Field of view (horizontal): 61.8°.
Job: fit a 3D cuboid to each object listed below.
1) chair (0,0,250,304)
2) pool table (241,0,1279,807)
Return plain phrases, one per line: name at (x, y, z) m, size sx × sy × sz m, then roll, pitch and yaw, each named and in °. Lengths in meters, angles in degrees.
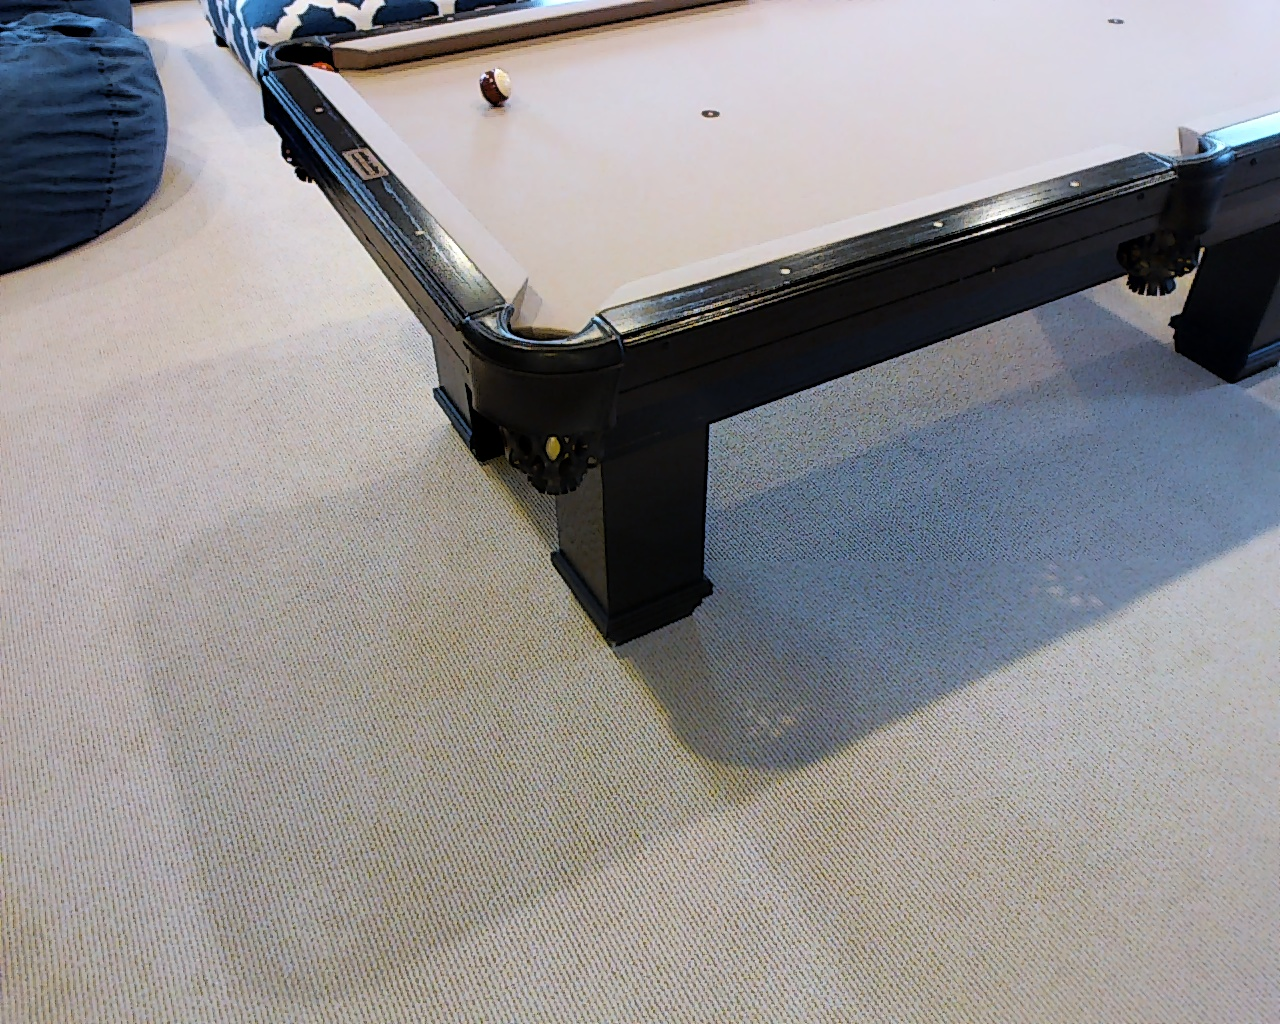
chair at (-1.900, -1.130, 3.050) m, size 1.050 × 0.520 × 0.970 m, roll 10°, pitch 43°, yaw 12°
pool table at (0.550, -0.570, 2.180) m, size 2.200 × 0.790 × 1.250 m, roll -21°, pitch 45°, yaw -21°
